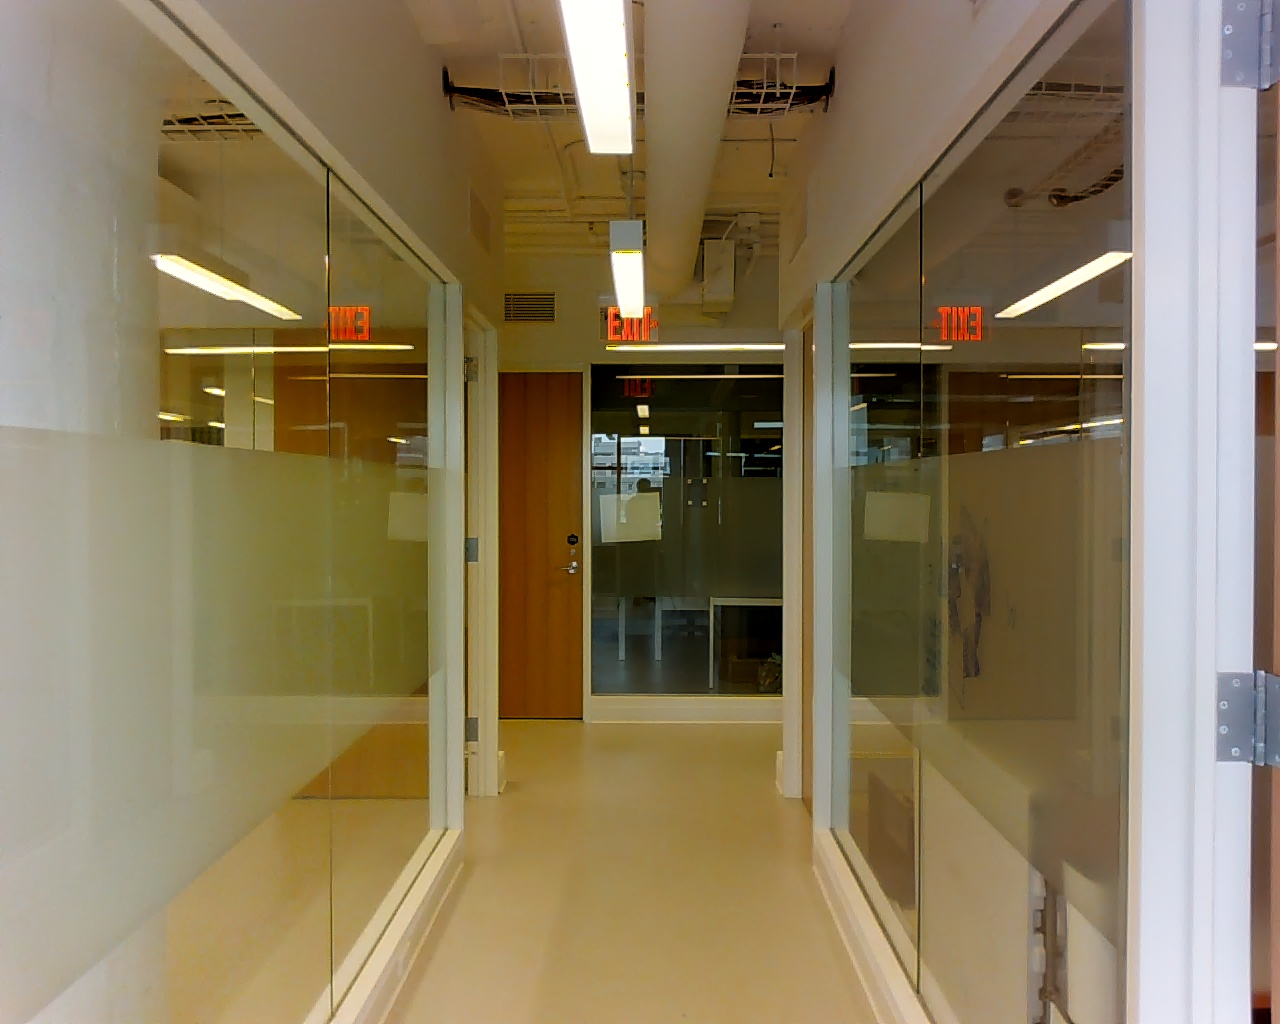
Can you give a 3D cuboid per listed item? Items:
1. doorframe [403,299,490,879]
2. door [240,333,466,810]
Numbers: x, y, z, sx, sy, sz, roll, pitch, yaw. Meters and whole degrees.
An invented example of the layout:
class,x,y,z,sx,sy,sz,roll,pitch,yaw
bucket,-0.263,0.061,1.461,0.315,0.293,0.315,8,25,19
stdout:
class,x,y,z,sx,sy,sz,roll,pitch,yaw
doorframe,-0.810,0.290,4.600,0.180,2.210,1.040,0,1,0
door,-1.350,0.280,5.060,1.030,2.230,0.100,0,1,0
